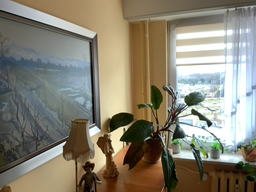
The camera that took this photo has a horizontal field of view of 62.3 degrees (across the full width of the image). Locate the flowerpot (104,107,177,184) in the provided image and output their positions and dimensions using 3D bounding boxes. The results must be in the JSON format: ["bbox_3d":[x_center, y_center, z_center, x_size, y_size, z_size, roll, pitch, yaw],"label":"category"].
[{"bbox_3d":[0.160,0.340,1.790,0.390,0.370,0.800,0,6,20],"label":"flowerpot"}]

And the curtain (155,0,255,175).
[{"bbox_3d":[1.220,-0.080,1.960,1.840,1.500,0.440,0,6,20],"label":"curtain"}]
